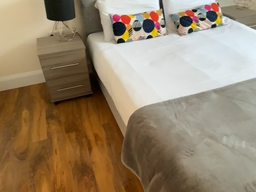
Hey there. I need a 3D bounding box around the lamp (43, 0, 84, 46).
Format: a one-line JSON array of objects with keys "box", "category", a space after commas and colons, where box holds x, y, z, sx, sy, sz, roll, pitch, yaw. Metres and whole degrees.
[{"box": [-0.580, -0.710, 1.890, 0.260, 0.390, 0.340, -13, 37, -14], "category": "lamp"}]
